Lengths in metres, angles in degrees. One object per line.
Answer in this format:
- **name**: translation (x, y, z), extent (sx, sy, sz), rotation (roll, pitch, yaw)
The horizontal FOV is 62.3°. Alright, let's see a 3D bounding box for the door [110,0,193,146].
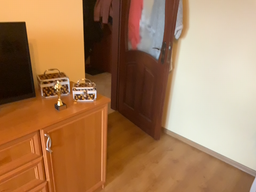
- **door**: translation (0.180, -0.630, 2.400), extent (0.190, 2.190, 1.020), rotation (-14, 30, -35)
